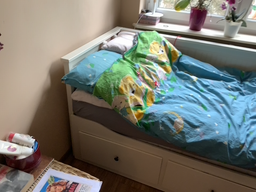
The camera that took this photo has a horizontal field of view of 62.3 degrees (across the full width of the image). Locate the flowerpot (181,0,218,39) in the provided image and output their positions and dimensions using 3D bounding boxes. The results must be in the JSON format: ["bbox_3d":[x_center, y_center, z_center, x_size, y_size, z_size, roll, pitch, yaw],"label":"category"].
[{"bbox_3d":[0.640,-0.760,1.850,0.230,0.430,0.220,14,33,15],"label":"flowerpot"}]

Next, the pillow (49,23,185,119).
[{"bbox_3d":[0.010,-0.280,1.580,0.640,0.240,0.970,15,33,16],"label":"pillow"}]
